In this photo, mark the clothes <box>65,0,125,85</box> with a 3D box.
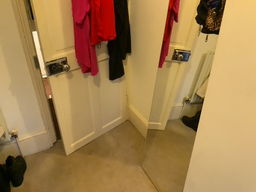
[{"bbox_3d":[-0.210,-0.610,1.370,0.330,1.040,0.190,-24,40,-34],"label":"clothes"}]
